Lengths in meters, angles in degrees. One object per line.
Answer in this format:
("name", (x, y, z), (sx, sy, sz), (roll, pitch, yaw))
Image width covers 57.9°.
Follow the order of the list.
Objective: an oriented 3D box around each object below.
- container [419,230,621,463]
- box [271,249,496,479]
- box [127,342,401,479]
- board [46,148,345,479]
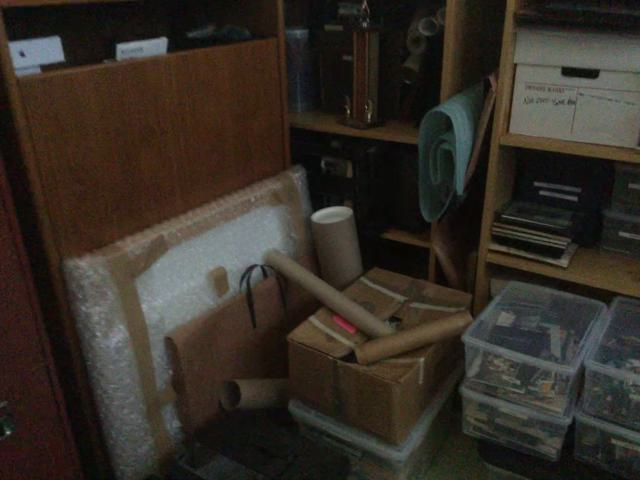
("container", (0.550, 0.230, 1.540), (0.340, 0.260, 0.610), (13, 28, 30))
("box", (0.200, 0.300, 1.620), (0.380, 0.280, 0.590), (13, 28, 30))
("box", (-0.110, 0.580, 1.450), (0.440, 0.330, 0.500), (13, 28, 30))
("board", (-0.230, 0.180, 1.600), (0.160, 0.650, 0.910), (13, 28, 30))
